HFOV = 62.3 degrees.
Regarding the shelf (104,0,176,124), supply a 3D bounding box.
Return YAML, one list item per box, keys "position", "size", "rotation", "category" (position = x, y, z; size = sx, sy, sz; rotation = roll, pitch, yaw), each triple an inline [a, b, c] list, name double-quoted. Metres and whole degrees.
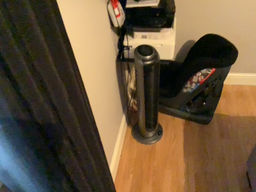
- position: [0.130, -0.390, 1.510]
  size: [0.370, 1.190, 0.480]
  rotation: [4, 43, 11]
  category: "shelf"
